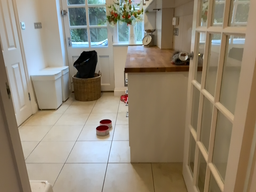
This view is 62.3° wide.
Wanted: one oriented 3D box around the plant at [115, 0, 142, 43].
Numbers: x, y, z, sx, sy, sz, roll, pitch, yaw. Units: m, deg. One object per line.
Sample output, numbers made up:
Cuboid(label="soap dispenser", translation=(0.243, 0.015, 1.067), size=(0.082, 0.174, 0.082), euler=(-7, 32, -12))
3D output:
Cuboid(label="plant", translation=(0.020, -1.260, 3.560), size=(0.430, 0.690, 0.260), euler=(-1, 18, 2))

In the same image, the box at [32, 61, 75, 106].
Cuboid(label="box", translation=(-1.180, -0.230, 3.480), size=(0.390, 0.570, 0.720), euler=(-1, 18, 2))

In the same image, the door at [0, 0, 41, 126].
Cuboid(label="door", translation=(-1.390, -0.720, 2.510), size=(0.080, 1.950, 0.850), euler=(0, 18, 2))

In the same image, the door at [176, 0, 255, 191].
Cuboid(label="door", translation=(0.450, -0.300, 1.120), size=(0.140, 2.150, 0.880), euler=(0, 18, 4))
